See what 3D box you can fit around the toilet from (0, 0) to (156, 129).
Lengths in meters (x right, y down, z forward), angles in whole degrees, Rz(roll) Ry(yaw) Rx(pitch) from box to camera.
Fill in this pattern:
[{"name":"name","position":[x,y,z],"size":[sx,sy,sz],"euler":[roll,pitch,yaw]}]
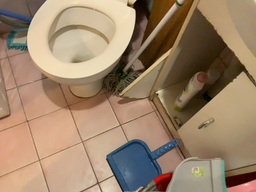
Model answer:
[{"name":"toilet","position":[-0.140,-0.360,0.850],"size":[0.380,0.810,0.670],"euler":[24,63,4]}]

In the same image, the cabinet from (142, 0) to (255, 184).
[{"name":"cabinet","position":[0.370,-0.010,0.790],"size":[0.320,0.720,0.490],"euler":[-20,69,-17]}]
